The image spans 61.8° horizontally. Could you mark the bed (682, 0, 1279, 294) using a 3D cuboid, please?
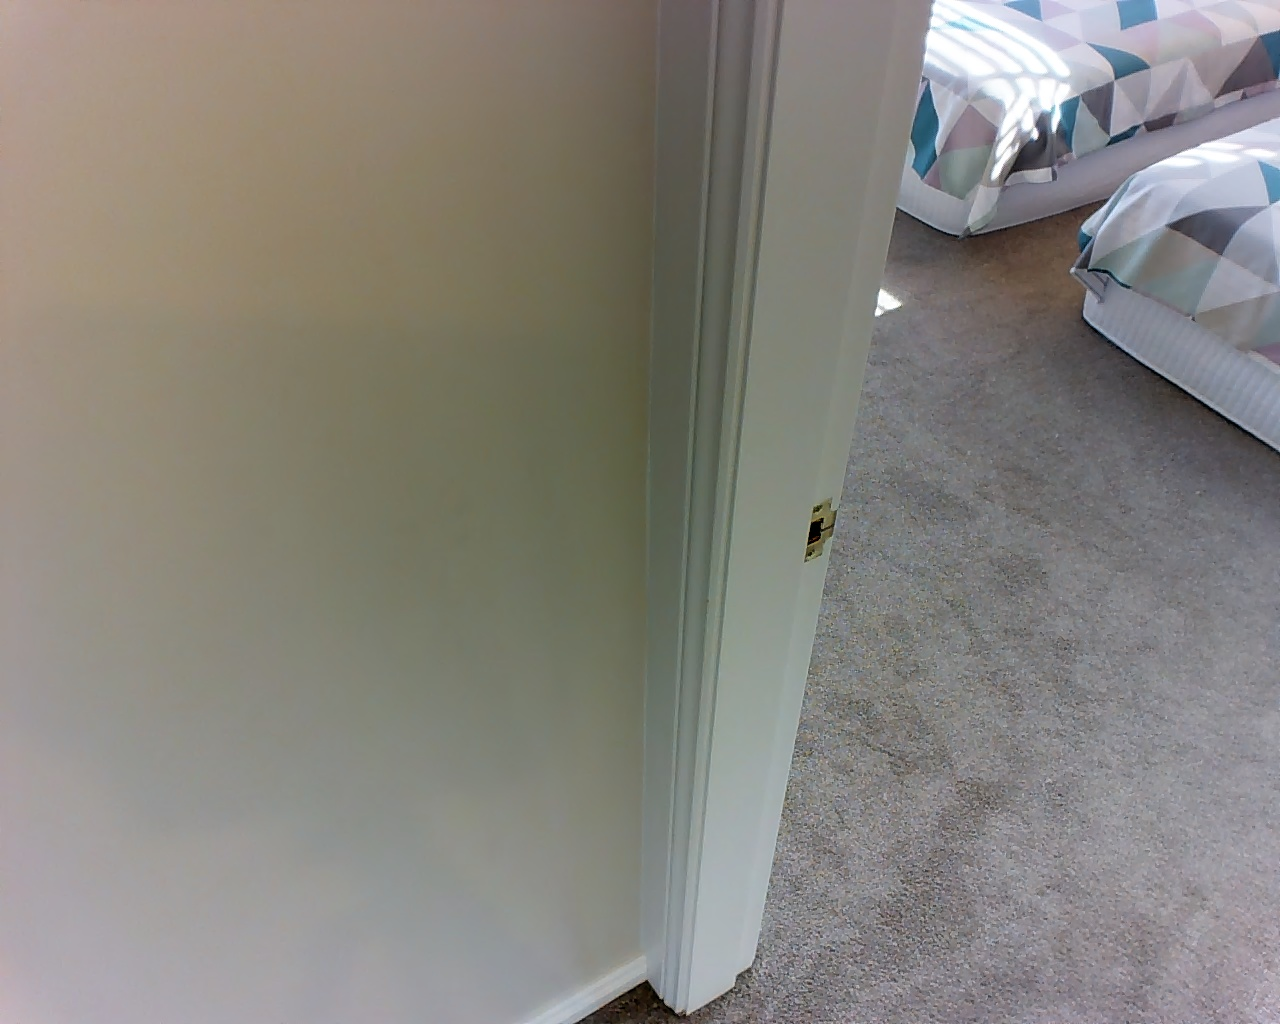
[{"bbox_3d":[1.360,-1.510,3.430,2.070,0.490,1.280,-24,49,-23],"label":"bed"}]
